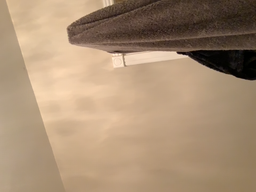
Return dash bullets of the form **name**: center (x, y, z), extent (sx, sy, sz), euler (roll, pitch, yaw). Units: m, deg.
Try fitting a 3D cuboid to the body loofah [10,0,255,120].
- **body loofah**: center (0.400, -0.220, 0.690), extent (0.610, 1.260, 0.370), euler (-35, -61, -76)
